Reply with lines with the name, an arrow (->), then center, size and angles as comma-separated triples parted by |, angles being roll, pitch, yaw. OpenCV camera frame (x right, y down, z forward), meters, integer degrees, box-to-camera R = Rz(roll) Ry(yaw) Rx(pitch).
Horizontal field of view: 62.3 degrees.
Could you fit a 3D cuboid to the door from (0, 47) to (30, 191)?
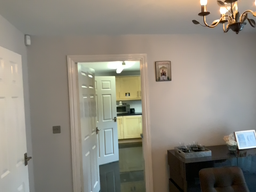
door -> -1.000, 0.580, 1.910 | 0.030, 1.880, 0.730 | -2, 1, -13
